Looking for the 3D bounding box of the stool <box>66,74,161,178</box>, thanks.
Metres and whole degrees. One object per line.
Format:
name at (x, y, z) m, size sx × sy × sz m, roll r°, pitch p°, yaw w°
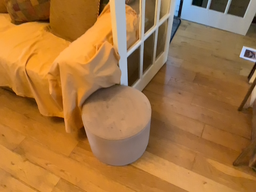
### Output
stool at (-0.070, 0.180, 1.340) m, size 0.390 × 0.370 × 0.400 m, roll 21°, pitch 52°, yaw 18°
